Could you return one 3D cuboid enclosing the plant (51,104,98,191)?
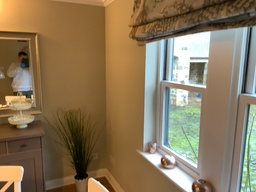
[{"bbox_3d":[-0.610,0.630,2.480,0.480,1.030,0.170,-5,12,-27],"label":"plant"}]
